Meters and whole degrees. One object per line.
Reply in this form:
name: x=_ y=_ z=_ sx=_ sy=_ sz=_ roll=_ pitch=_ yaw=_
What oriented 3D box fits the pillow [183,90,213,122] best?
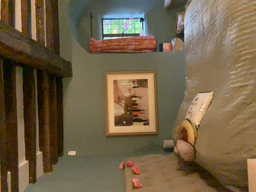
pillow: x=0.710 y=0.100 z=2.190 sx=0.320 sy=0.190 sz=0.310 roll=106 pitch=163 yaw=-88
